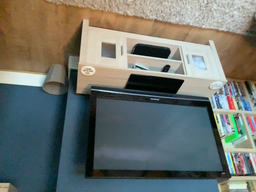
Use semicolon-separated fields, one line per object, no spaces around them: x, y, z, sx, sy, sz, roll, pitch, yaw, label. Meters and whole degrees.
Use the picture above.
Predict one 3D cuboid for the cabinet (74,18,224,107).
0.150;-0.260;1.890;1.170;0.470;0.430;5;148;-13;cabinet
